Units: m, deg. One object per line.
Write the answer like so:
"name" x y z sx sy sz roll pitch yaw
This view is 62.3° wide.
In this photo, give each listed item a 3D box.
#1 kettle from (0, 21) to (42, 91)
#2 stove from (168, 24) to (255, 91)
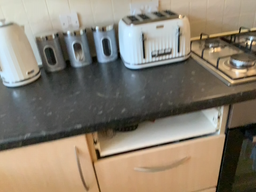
"kettle" -0.500 -0.170 0.900 0.170 0.240 0.130 -11 31 -7
"stove" 0.580 -0.230 1.000 0.610 0.040 0.560 -11 31 -7
